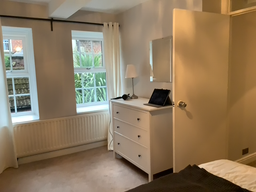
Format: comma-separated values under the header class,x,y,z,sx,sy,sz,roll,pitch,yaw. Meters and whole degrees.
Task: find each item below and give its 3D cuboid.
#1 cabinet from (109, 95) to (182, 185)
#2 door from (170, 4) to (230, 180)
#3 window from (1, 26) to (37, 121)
class,x,y,z,sx,sy,sz,roll,pitch,yaw
cabinet,0.210,0.530,3.060,0.500,0.940,1.030,-7,9,-32
door,0.840,-0.040,2.410,0.860,1.810,0.070,-7,9,-30
window,-1.830,-0.370,3.590,0.390,1.550,0.110,-6,9,-28
